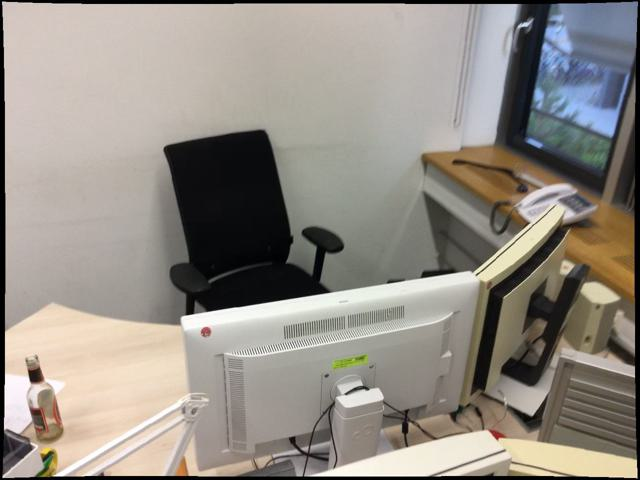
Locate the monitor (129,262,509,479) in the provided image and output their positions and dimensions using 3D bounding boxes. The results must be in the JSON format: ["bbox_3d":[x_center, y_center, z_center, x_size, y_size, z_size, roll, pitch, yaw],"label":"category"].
[{"bbox_3d":[0.000,0.340,1.220,0.709,0.470,0.180,-7,28,-16],"label":"monitor"}]

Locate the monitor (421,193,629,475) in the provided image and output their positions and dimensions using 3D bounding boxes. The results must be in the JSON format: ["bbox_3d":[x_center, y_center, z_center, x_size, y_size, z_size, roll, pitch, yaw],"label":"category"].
[{"bbox_3d":[0.539,0.210,1.520,0.250,0.470,0.560,22,35,35],"label":"monitor"}]

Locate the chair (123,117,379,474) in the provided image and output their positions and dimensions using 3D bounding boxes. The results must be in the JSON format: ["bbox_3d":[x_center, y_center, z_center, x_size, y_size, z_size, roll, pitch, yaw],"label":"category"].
[{"bbox_3d":[-0.300,0.160,2.410,0.689,1.061,0.860,-14,31,-23],"label":"chair"}]
